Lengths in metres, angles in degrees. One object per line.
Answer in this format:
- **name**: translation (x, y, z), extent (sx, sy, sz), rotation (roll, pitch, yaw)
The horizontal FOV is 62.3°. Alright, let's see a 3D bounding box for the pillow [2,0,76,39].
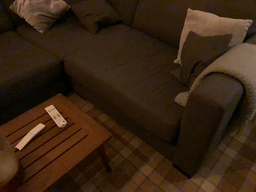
- **pillow**: translation (-0.780, -0.800, 1.860), extent (0.440, 0.200, 0.400), rotation (50, 54, 0)

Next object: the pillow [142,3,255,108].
- **pillow**: translation (0.420, -0.280, 1.330), extent (0.460, 0.360, 0.450), rotation (32, 51, 27)
